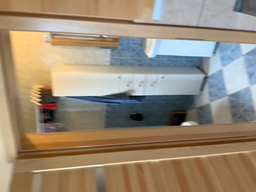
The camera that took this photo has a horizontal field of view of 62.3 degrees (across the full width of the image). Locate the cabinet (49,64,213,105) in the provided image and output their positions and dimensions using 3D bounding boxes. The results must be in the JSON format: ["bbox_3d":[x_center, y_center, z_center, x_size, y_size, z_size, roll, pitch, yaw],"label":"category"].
[{"bbox_3d":[0.080,-0.160,2.710,0.300,2.000,0.380,-115,28,-57],"label":"cabinet"}]
